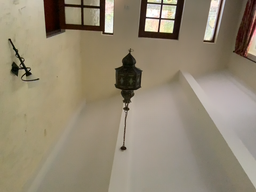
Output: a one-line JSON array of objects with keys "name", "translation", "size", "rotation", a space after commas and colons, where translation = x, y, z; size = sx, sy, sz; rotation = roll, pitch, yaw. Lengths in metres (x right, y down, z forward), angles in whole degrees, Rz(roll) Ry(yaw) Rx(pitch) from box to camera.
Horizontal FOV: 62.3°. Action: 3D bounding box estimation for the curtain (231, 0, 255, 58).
[{"name": "curtain", "translation": [2.170, -1.350, 3.760], "size": [0.220, 1.280, 0.330], "rotation": [5, -157, 1]}]
